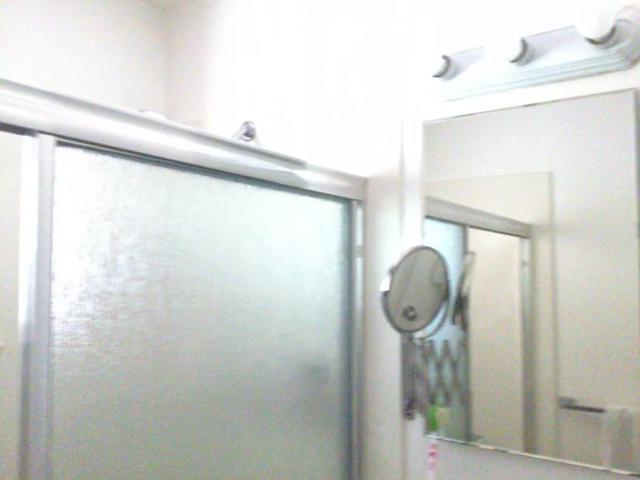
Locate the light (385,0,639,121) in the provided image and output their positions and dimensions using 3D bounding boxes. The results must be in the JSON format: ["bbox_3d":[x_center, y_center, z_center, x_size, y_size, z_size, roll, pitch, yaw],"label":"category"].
[{"bbox_3d":[0.350,-0.350,1.070,0.450,0.150,0.140,-4,-6,38],"label":"light"}]
